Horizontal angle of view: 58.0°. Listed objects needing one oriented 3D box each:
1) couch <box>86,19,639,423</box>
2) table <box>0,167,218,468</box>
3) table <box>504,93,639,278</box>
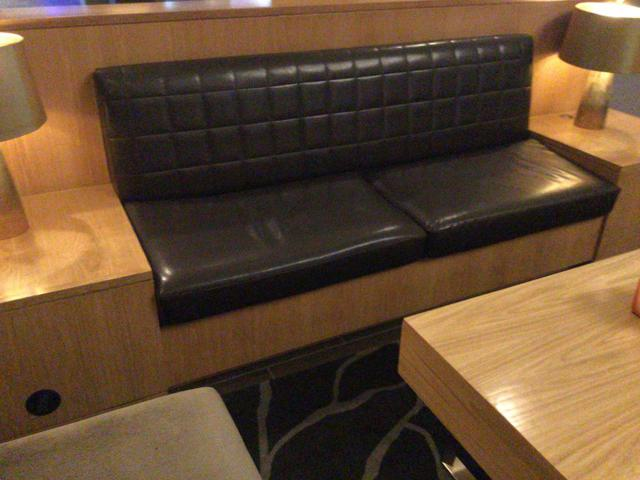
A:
[{"bbox_3d":[0.250,-0.210,2.160,1.880,0.950,0.690,-14,30,-22],"label":"couch"},{"bbox_3d":[-0.790,0.190,1.820,0.710,0.540,0.670,-14,30,-22],"label":"table"},{"bbox_3d":[1.370,-0.290,2.660,0.680,0.550,0.640,-14,30,-22],"label":"table"}]
